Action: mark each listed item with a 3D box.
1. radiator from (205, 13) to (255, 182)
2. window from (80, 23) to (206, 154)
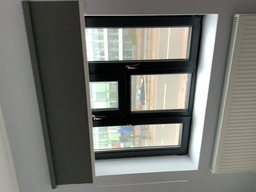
[{"bbox_3d":[1.030,0.100,1.770,0.070,0.570,1.470,-104,14,-68],"label":"radiator"},{"bbox_3d":[0.130,-0.020,2.090,0.090,1.080,1.320,-103,13,-66],"label":"window"}]
